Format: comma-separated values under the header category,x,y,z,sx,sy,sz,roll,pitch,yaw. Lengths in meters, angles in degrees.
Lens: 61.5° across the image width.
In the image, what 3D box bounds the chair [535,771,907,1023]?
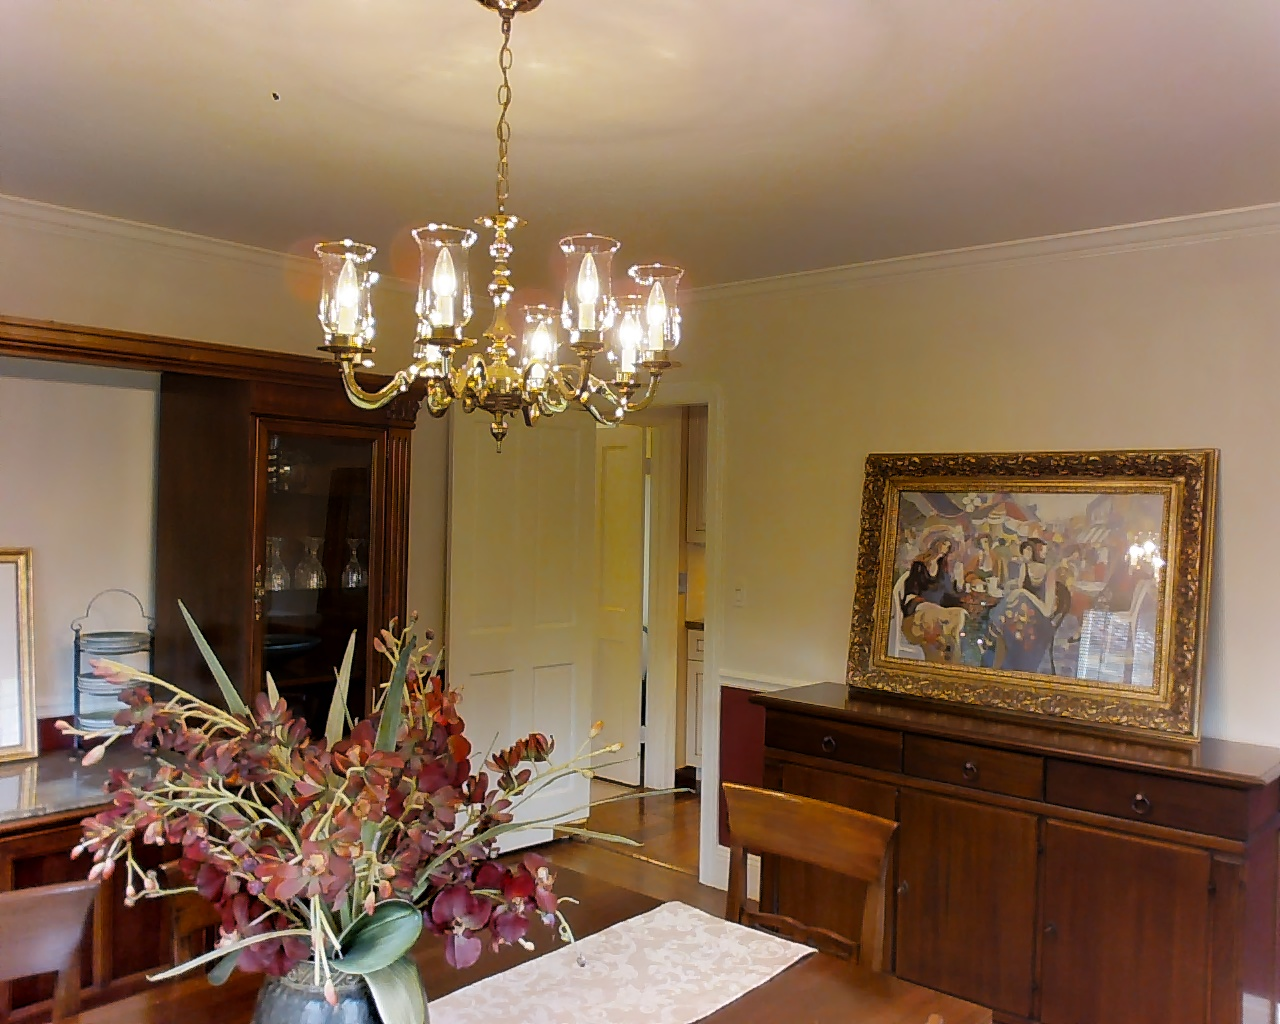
category,x,y,z,sx,sy,sz,roll,pitch,yaw
chair,0.170,1.080,2.110,0.420,0.960,0.640,2,1,41

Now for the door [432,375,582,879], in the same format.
category,x,y,z,sx,sy,sz,roll,pitch,yaw
door,-0.580,0.490,4.810,0.750,2.130,0.040,0,1,-43

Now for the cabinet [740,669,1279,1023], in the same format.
category,x,y,z,sx,sy,sz,roll,pitch,yaw
cabinet,1.150,1.110,3.440,1.610,0.970,0.560,2,1,41
